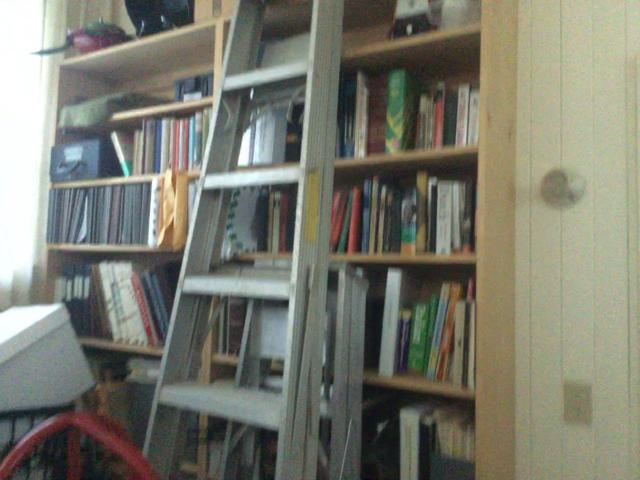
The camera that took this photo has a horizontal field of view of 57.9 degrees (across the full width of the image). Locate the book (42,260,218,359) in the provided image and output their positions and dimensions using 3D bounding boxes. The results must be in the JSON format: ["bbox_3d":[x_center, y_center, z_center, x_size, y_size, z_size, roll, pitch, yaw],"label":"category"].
[{"bbox_3d":[-0.720,0.240,2.160,0.670,0.320,0.230,-1,-4,31],"label":"book"}]

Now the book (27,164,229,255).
[{"bbox_3d":[-0.730,-0.090,2.120,0.870,0.280,0.170,-1,-4,31],"label":"book"}]

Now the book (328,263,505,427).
[{"bbox_3d":[0.270,0.260,1.590,0.400,0.380,0.280,-1,-4,31],"label":"book"}]

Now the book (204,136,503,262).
[{"bbox_3d":[0.080,-0.090,1.730,0.840,0.290,0.310,-1,-4,31],"label":"book"}]

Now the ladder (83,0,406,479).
[{"bbox_3d":[-0.210,0.370,1.520,0.640,2.390,0.410,-1,-9,32],"label":"ladder"}]

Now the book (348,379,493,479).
[{"bbox_3d":[0.280,0.570,1.570,0.300,0.310,0.290,-1,-4,31],"label":"book"}]
